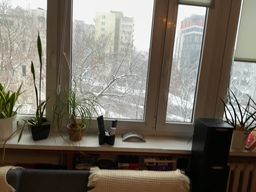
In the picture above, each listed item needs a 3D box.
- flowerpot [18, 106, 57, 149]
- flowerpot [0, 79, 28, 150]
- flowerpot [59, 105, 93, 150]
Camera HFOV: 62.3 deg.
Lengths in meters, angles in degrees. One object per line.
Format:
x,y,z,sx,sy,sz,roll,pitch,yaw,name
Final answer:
-0.670,0.230,1.590,0.210,0.260,0.200,4,10,-5,flowerpot
-0.910,0.120,1.550,0.260,0.460,0.230,4,10,-3,flowerpot
-0.400,0.240,1.650,0.220,0.290,0.190,4,10,-6,flowerpot
